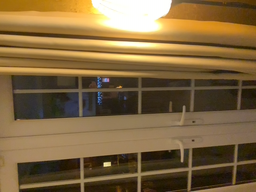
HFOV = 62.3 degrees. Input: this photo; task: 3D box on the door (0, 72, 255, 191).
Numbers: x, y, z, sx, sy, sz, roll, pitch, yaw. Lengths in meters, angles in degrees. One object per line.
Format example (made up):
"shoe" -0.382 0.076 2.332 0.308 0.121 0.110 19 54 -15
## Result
"door" 0.260 0.310 1.410 0.140 2.020 0.930 -151 60 -74
